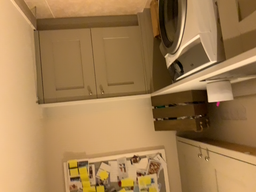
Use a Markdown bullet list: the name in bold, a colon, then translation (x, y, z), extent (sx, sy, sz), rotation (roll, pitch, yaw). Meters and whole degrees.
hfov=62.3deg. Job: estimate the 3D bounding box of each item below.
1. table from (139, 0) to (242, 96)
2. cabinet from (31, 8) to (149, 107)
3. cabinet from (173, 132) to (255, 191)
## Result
- **table**: translation (0.470, -0.500, 1.850), extent (0.570, 0.890, 0.620), rotation (-6, 176, -7)
- **cabinet**: translation (-0.370, -0.390, 2.160), extent (1.050, 0.890, 0.210), rotation (-6, 176, -7)
- **cabinet**: translation (0.760, 0.730, 1.720), extent (0.330, 0.740, 1.220), rotation (-6, 176, -7)
